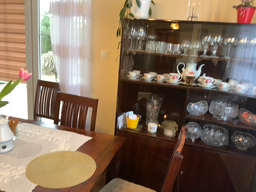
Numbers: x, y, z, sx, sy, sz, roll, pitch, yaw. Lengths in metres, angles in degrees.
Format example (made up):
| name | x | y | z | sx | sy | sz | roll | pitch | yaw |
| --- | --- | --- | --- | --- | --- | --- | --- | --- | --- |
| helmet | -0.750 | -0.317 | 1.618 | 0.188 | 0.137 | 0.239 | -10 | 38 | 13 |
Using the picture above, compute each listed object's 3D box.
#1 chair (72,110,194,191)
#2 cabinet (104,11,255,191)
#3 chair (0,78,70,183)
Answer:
| name | x | y | z | sx | sy | sz | roll | pitch | yaw |
| --- | --- | --- | --- | --- | --- | --- | --- | --- | --- |
| chair | 0.020 | 0.680 | 1.350 | 0.550 | 1.000 | 0.490 | 11 | 14 | 23 |
| cabinet | 0.530 | 0.210 | 1.940 | 1.310 | 1.730 | 0.480 | 9 | 14 | 16 |
| chair | -1.070 | 0.340 | 2.440 | 0.480 | 0.970 | 0.600 | 11 | 14 | 22 |
